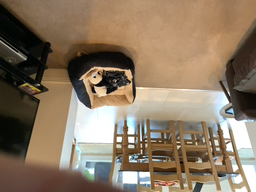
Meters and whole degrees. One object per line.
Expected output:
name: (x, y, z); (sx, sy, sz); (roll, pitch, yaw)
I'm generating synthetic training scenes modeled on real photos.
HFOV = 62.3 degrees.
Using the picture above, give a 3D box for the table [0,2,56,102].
table: (-1.060, -0.380, 1.600); (0.440, 0.430, 0.880); (-13, 147, 22)

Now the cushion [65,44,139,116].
cushion: (-0.240, -0.100, 2.280); (0.620, 0.200, 1.040); (1, 150, -2)
